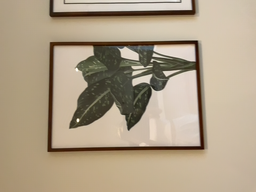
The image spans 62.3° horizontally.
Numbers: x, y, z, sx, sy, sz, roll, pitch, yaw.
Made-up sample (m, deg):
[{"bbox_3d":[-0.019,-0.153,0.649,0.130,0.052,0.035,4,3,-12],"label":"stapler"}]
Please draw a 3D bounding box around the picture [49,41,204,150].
[{"bbox_3d":[-0.010,-0.010,1.010,0.030,0.710,0.500,94,175,-84],"label":"picture"}]
